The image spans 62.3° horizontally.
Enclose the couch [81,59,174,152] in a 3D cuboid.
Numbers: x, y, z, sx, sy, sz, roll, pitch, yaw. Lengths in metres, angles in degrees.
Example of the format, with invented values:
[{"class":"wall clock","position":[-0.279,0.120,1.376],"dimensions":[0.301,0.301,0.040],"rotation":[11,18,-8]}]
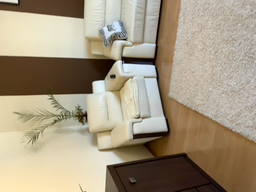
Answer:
[{"class":"couch","position":[-0.100,0.180,3.030],"dimensions":[1.020,0.880,1.010],"rotation":[137,127,-62]}]

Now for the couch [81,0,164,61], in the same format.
[{"class":"couch","position":[-0.080,-1.830,2.790],"dimensions":[0.940,0.870,2.580],"rotation":[-142,53,-62]}]
